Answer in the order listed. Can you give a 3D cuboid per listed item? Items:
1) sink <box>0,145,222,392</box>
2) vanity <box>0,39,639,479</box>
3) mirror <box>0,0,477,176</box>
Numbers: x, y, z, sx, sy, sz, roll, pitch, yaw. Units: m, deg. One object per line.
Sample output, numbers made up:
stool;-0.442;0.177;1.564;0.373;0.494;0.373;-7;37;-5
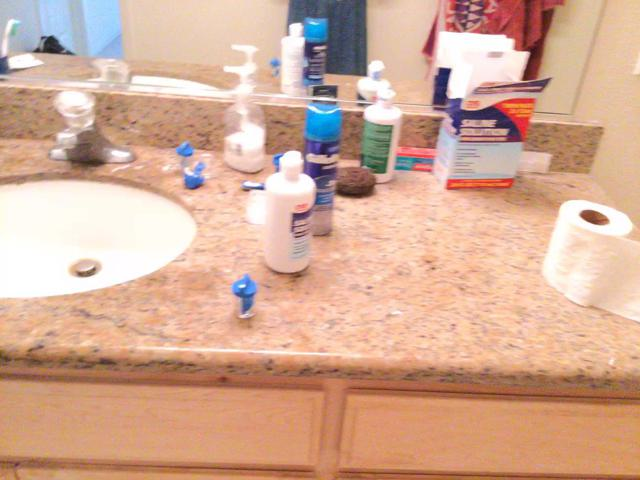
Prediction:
sink;-0.390;0.020;0.900;0.420;0.180;0.380;4;30;-4
vanity;-0.190;0.220;1.040;1.400;0.930;0.590;4;30;-4
mirror;-0.300;-0.360;1.040;1.090;0.370;0.150;4;30;-4
